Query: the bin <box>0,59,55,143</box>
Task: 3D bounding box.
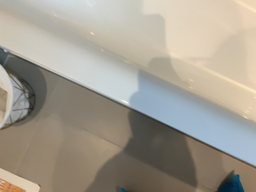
[{"bbox_3d":[-0.450,0.000,0.740,0.220,0.260,0.230,26,86,1],"label":"bin"}]
